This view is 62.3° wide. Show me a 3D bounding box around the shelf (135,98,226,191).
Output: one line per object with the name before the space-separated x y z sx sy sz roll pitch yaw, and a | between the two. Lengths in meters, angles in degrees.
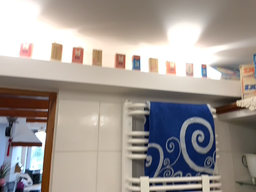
shelf | 0.250 0.240 1.070 0.400 0.410 0.160 4 -14 -15
